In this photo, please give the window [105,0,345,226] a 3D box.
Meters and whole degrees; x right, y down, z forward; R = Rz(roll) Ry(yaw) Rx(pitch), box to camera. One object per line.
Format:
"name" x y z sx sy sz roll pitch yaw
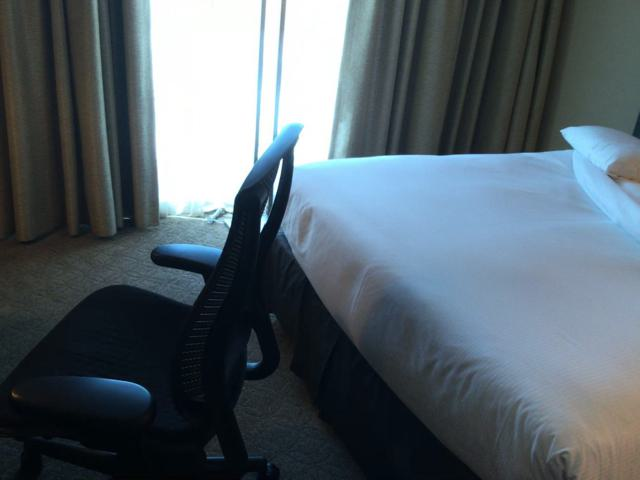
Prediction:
"window" -0.480 -0.840 3.000 1.140 1.470 0.250 -5 25 -24
